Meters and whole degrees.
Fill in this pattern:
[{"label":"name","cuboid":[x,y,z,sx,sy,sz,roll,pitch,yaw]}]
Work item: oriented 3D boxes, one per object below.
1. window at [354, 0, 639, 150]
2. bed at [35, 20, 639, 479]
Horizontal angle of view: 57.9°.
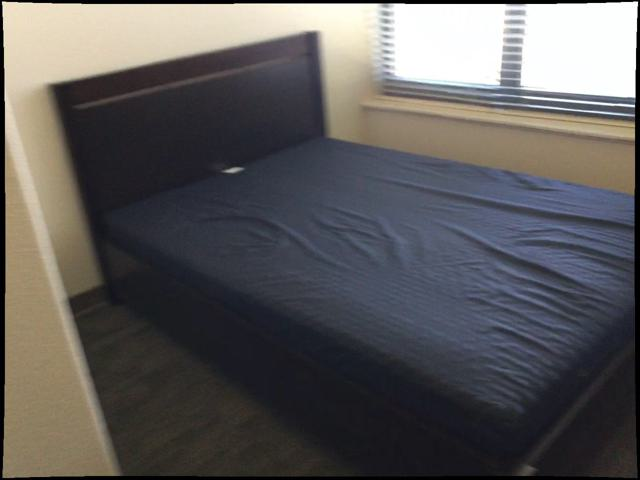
[{"label":"window","cuboid":[0.919,-1.251,2.750,0.380,1.371,1.769,-28,33,-34]},{"label":"bed","cuboid":[0.200,-0.170,2.200,1.499,1.011,2.139,-28,33,-34]}]
